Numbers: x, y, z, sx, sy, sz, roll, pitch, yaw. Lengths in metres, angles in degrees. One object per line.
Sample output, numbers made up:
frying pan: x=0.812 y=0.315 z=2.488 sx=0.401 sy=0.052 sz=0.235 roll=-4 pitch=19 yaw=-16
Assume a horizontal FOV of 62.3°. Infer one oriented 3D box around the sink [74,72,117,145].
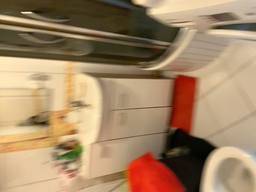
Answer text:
sink: x=-0.270 y=0.080 z=1.670 sx=0.350 sy=0.170 sz=0.480 roll=23 pitch=110 yaw=54
